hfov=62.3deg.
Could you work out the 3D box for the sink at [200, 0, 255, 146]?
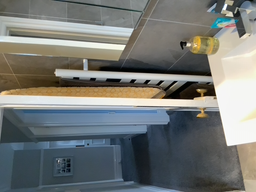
[{"bbox_3d":[0.510,-0.110,0.720,0.610,0.110,0.490,133,136,-66],"label":"sink"}]
